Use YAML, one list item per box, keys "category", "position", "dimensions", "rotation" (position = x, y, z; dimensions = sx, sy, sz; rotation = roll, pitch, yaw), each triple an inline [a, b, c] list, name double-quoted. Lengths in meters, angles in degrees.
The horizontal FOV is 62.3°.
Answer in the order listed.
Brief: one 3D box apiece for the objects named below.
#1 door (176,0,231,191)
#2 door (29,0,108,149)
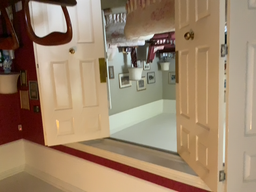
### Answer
- category: "door"
  position: [0.530, -0.360, 1.610]
  dimensions: [0.050, 2.000, 0.750]
  rotation: [-4, -171, -7]
- category: "door"
  position: [-0.660, -0.390, 2.450]
  dimensions: [0.740, 1.960, 0.040]
  rotation: [-6, -171, -17]
